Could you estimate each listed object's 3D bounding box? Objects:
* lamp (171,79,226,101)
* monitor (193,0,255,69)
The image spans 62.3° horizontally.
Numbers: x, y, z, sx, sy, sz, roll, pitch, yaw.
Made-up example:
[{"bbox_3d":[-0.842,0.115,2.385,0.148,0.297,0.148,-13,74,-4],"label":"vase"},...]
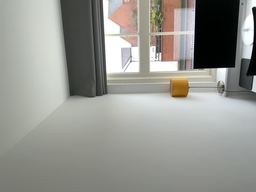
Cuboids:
[{"bbox_3d":[0.610,-0.050,1.870,0.180,0.420,0.140,84,-175,-76],"label":"lamp"},{"bbox_3d":[0.690,-0.450,1.530,0.040,0.380,0.500,-80,-8,-74],"label":"monitor"}]
